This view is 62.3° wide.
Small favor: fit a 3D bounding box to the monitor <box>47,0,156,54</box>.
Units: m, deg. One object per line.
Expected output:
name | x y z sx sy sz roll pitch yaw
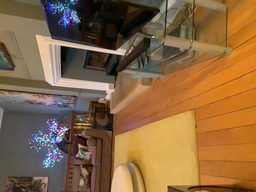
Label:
monitor | -0.300 -0.560 1.900 1.190 0.680 0.060 -178 93 -75
